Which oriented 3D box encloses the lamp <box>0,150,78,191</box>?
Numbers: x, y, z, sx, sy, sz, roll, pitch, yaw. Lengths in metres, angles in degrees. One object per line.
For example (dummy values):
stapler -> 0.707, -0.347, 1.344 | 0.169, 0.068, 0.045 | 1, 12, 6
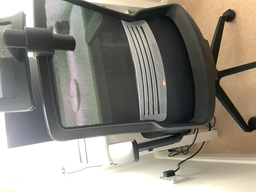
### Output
lamp -> -0.610, 0.520, 1.380 | 0.190, 0.500, 0.210 | -12, 84, 63
